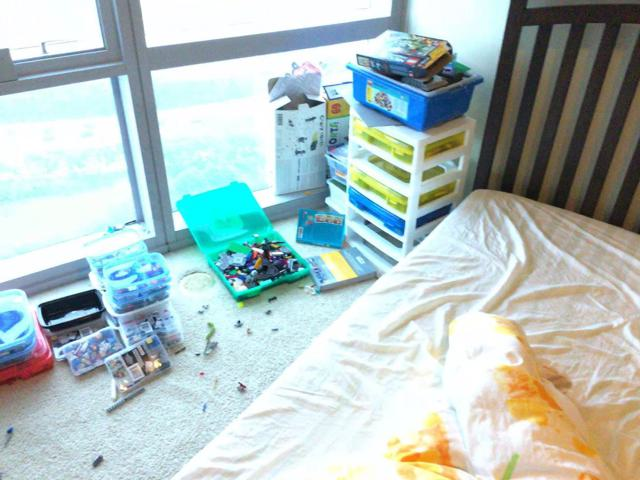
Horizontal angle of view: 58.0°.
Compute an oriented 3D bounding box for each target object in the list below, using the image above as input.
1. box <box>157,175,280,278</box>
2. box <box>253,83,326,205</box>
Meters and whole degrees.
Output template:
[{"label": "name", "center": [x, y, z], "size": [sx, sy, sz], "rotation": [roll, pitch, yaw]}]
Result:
[{"label": "box", "center": [-0.420, -0.070, 2.420], "size": [0.380, 0.200, 0.340], "rotation": [-21, 39, -30]}, {"label": "box", "center": [-0.130, -0.420, 2.520], "size": [0.180, 0.440, 0.250], "rotation": [25, 40, 31]}]
